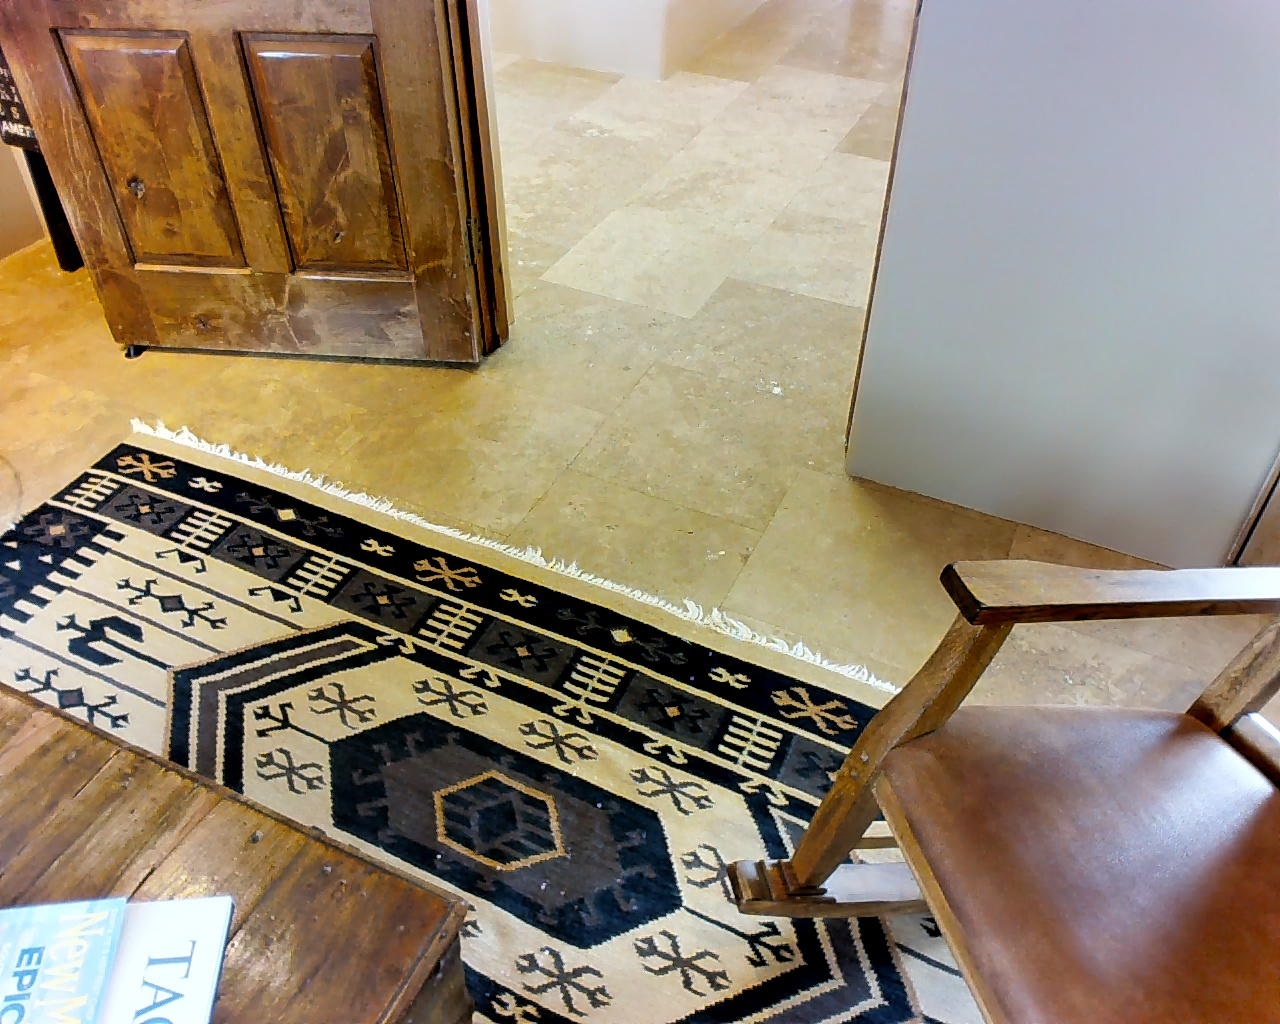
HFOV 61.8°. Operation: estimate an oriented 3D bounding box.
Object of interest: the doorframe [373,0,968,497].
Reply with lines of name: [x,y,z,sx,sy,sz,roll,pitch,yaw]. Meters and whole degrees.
doorframe: [0.040,-1.080,1.770,1.010,2.150,0.350,17,45,19]
